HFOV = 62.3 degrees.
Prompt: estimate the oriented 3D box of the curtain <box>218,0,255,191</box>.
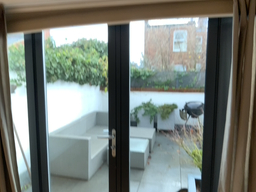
[{"bbox_3d":[0.800,0.390,1.300,0.420,2.170,0.100,2,7,14],"label":"curtain"}]
